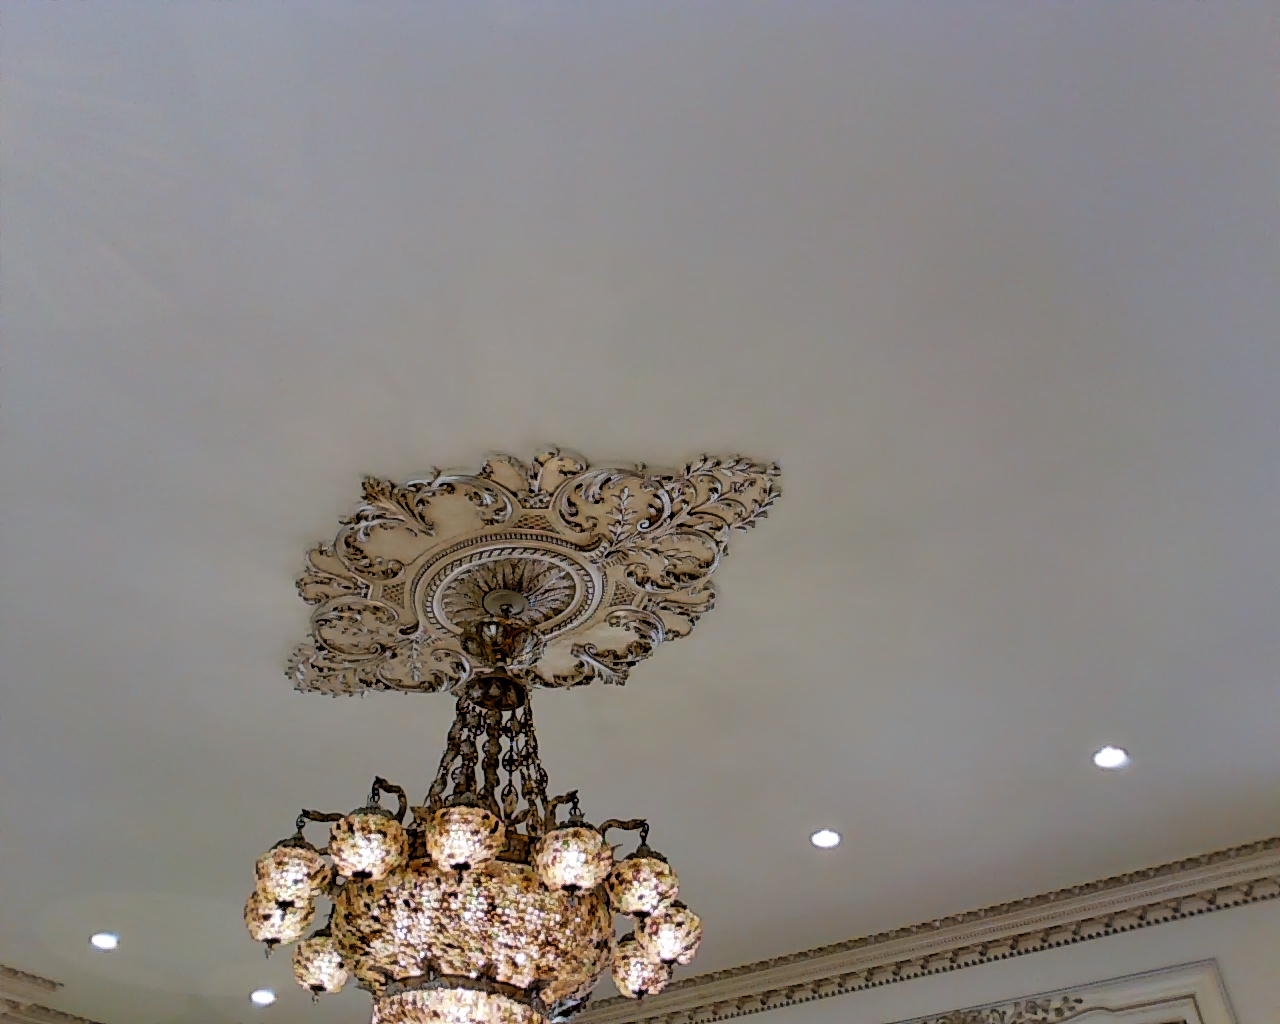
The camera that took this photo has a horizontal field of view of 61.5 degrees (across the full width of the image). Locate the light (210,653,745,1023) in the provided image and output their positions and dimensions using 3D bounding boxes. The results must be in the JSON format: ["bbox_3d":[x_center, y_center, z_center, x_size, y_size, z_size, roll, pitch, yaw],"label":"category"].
[{"bbox_3d":[-0.360,0.950,2.500,0.980,0.740,0.650,-26,-48,26],"label":"light"}]
